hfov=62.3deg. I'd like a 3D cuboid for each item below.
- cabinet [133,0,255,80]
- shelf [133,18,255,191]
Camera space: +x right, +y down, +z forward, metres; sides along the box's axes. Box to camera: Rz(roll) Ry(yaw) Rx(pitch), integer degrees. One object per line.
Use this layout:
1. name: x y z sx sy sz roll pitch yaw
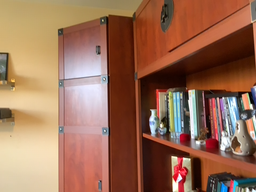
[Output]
1. cabinet: 0.390 -0.390 1.020 0.470 0.480 1.010 0 -3 -14
2. shelf: 0.400 0.410 0.970 0.470 1.110 1.030 0 -3 -14
